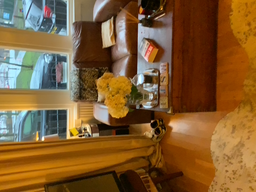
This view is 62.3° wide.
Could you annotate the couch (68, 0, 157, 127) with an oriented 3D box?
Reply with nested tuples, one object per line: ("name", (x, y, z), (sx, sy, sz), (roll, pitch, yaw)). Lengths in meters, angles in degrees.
("couch", (-0.250, -0.480, 2.780), (1.040, 0.780, 1.620), (-2, 87, 60))

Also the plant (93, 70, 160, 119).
("plant", (-0.020, -0.010, 1.710), (0.330, 0.430, 0.340), (1, 90, 60))

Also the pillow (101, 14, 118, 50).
("pillow", (-0.240, -0.810, 2.720), (0.300, 0.110, 0.360), (173, 96, -65))
